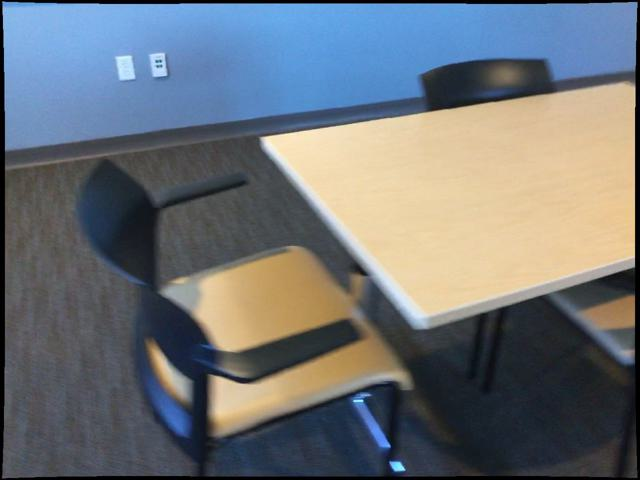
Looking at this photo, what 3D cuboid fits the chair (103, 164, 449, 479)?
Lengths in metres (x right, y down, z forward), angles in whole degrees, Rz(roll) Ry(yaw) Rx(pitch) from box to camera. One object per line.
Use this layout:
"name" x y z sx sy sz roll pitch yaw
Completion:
"chair" -0.130 0.150 1.210 0.529 0.331 0.590 -12 34 -16

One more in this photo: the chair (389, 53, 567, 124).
"chair" 0.489 -0.481 1.800 0.509 0.100 0.190 -13 34 -16

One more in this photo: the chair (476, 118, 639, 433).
"chair" 0.798 0.010 1.300 0.649 0.391 0.520 -12 34 -16
